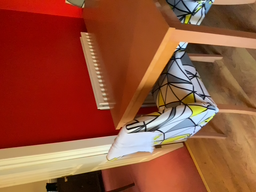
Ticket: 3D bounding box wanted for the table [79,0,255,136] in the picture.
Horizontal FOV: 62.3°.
[{"bbox_3d":[0.140,-0.620,1.880,1.000,0.750,1.550,116,143,-46],"label":"table"}]
